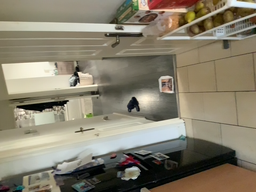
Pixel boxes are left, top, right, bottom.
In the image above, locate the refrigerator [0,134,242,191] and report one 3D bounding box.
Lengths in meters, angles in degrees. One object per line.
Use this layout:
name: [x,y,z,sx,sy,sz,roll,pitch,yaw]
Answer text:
refrigerator: [-0.020,0.850,1.680,0.690,1.780,0.660,180,84,-65]
